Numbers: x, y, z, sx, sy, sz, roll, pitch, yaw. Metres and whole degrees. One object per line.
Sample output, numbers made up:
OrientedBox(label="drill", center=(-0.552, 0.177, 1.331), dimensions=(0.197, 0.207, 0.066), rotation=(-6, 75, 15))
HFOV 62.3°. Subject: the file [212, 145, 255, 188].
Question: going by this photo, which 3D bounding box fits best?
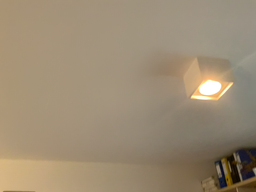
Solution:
OrientedBox(label="file", center=(1.170, 0.750, 2.210), dimensions=(0.300, 0.310, 0.490), rotation=(4, -33, -8))
